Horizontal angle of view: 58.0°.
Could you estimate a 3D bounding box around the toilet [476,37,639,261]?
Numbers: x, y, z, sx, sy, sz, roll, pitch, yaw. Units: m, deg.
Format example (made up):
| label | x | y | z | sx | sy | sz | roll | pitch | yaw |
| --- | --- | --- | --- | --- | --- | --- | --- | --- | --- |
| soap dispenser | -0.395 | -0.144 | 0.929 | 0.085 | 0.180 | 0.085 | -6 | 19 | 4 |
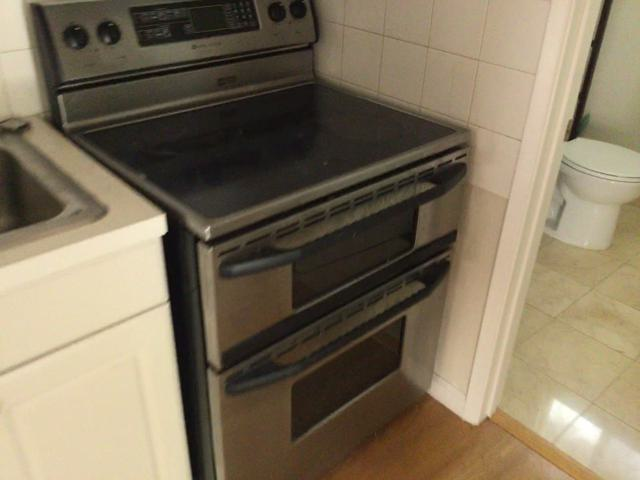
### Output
| label | x | y | z | sx | sy | sz | roll | pitch | yaw |
| --- | --- | --- | --- | --- | --- | --- | --- | --- | --- |
| toilet | 1.210 | -0.450 | 2.640 | 0.490 | 0.750 | 0.720 | -25 | 38 | -35 |
